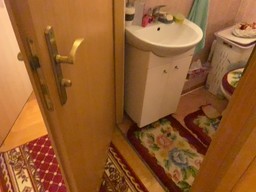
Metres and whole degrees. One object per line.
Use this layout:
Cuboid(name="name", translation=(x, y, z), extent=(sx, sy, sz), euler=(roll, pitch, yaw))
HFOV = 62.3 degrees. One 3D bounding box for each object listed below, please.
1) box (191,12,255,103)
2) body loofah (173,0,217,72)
Cuboid(name="box", translation=(0.970, -0.370, 2.120), extent=(0.360, 0.750, 0.360), euler=(-20, 46, -24))
Cuboid(name="body loofah", translation=(0.580, -0.600, 1.820), extent=(0.210, 0.800, 0.130), euler=(-23, 47, -26))
